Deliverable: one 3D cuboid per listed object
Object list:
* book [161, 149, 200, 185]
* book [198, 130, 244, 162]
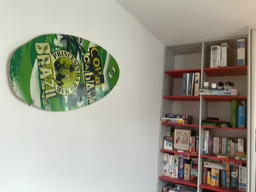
[{"bbox_3d":[0.690,0.900,2.750,0.400,0.330,0.350,1,-7,30],"label":"book"},{"bbox_3d":[1.130,0.590,2.590,0.490,0.310,0.170,1,-7,30],"label":"book"}]
